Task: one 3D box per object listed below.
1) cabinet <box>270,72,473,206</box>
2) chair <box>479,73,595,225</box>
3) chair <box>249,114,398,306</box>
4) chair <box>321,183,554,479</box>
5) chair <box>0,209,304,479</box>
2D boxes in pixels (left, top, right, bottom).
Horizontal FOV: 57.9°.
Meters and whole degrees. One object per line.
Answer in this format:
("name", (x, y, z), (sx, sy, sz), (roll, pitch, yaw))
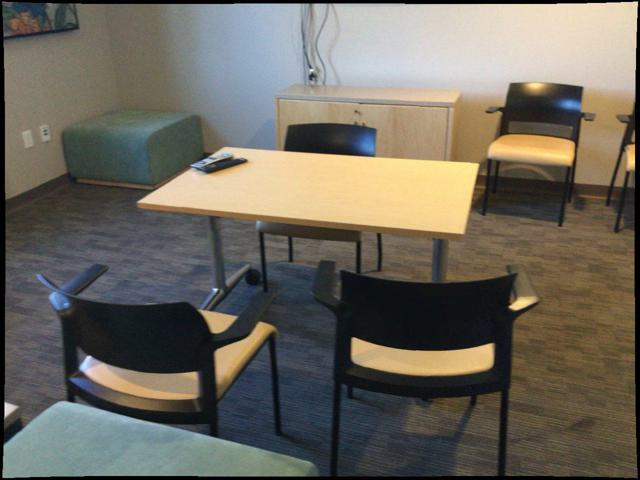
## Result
("cabinet", (0.360, -0.731, 4.010), (1.249, 0.701, 0.550), (8, 28, 18))
("chair", (1.359, -0.601, 3.670), (0.540, 0.761, 0.630), (8, 28, 18))
("chair", (0.040, -0.170, 2.790), (0.530, 0.721, 0.540), (8, 28, 18))
("chair", (0.310, 0.280, 1.840), (0.569, 0.781, 0.530), (0, 26, 3))
("chair", (-0.420, 0.390, 1.730), (0.540, 0.731, 0.610), (8, 28, 18))
